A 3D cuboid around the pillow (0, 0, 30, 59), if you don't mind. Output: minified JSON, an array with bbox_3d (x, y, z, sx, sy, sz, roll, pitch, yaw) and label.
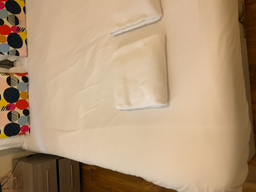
[{"bbox_3d":[-1.040,-0.650,1.870,0.140,0.300,0.600,-5,86,58],"label":"pillow"}]

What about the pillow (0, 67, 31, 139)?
[{"bbox_3d":[-1.010,0.060,1.830,0.140,0.300,0.590,-25,68,60],"label":"pillow"}]
